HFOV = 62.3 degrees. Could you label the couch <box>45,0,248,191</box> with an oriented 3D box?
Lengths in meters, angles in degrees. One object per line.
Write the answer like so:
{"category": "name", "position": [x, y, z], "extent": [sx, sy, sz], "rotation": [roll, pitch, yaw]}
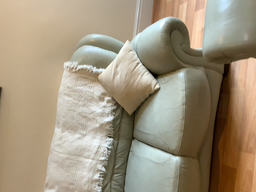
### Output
{"category": "couch", "position": [-0.020, 0.550, 1.600], "extent": [1.160, 0.870, 2.040], "rotation": [4, 86, 59]}
